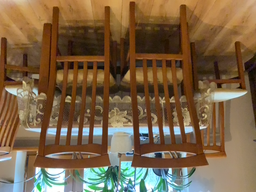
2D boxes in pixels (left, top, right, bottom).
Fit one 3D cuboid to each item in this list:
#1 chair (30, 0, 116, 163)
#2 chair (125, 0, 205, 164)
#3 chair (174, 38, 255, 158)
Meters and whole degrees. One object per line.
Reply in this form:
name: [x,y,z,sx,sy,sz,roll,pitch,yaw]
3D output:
chair: [-0.300,-0.070,1.440,0.390,0.960,0.530,0,167,0]
chair: [0.180,-0.070,1.420,0.360,0.960,0.530,1,167,-6]
chair: [0.730,0.050,1.940,0.440,0.960,0.580,0,167,0]
